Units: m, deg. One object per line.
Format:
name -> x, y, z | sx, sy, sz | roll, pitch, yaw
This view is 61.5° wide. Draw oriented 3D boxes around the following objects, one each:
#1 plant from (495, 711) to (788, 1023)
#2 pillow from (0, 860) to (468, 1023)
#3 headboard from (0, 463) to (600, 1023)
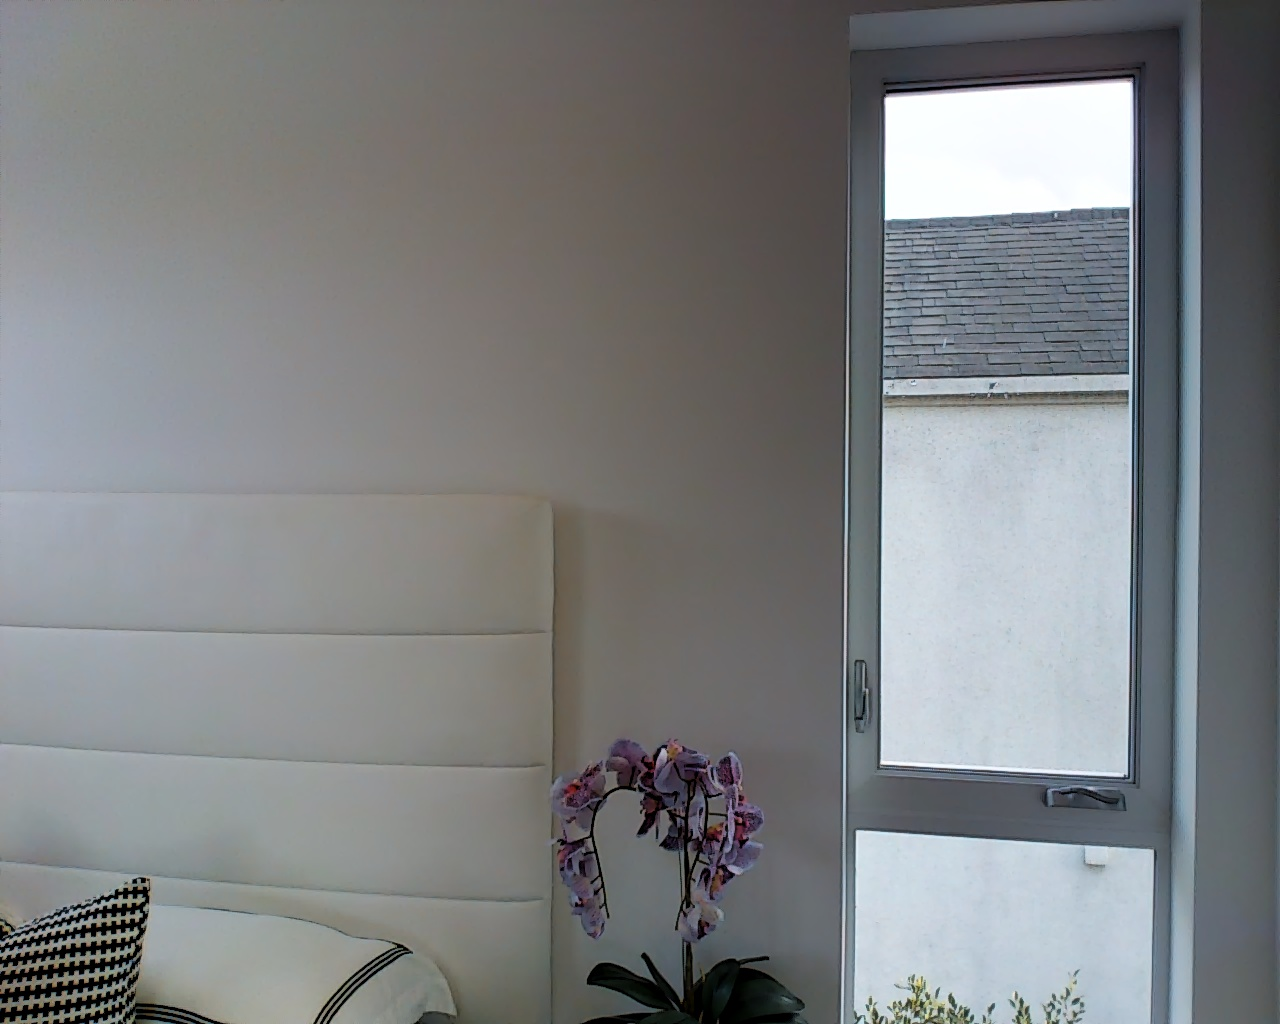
plant -> 0.020, 0.720, 1.770 | 0.410, 0.700, 0.370 | 1, 0, 12
pillow -> -0.690, 0.820, 1.810 | 0.680, 0.280, 0.430 | 1, 0, 12
headboard -> -1.189, 0.500, 2.170 | 2.239, 1.191, 0.140 | 1, 0, 12
